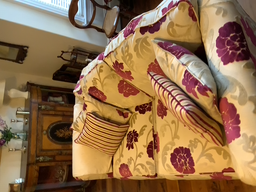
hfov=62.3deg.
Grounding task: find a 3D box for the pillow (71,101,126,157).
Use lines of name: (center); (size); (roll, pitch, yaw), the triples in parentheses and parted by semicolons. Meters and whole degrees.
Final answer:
pillow: (-0.250, 0.310, 1.930); (0.190, 0.430, 0.470); (-101, 7, -51)
